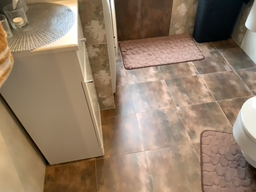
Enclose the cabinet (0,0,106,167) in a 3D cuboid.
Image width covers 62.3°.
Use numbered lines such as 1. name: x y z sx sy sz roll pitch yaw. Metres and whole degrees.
1. cabinet: -0.390 -0.020 1.180 0.410 0.860 0.410 -8 47 -5
